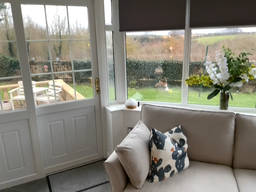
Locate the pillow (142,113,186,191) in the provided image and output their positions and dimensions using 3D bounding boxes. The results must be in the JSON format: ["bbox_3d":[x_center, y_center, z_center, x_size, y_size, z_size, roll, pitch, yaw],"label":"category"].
[{"bbox_3d":[0.360,0.520,1.990,0.210,0.340,0.600,-25,33,34],"label":"pillow"}]
